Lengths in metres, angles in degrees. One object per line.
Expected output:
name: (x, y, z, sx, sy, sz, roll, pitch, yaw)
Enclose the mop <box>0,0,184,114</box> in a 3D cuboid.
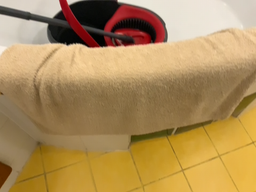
mop: (-0.090, -0.270, 0.890, 0.540, 0.430, 0.450, 12, 62, 4)
